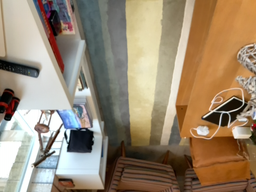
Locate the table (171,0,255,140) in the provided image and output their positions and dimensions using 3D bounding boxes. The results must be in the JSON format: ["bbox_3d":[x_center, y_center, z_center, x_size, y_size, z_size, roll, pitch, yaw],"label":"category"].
[{"bbox_3d":[0.770,-0.160,1.310,0.820,0.360,1.130,-1,141,2],"label":"table"}]
